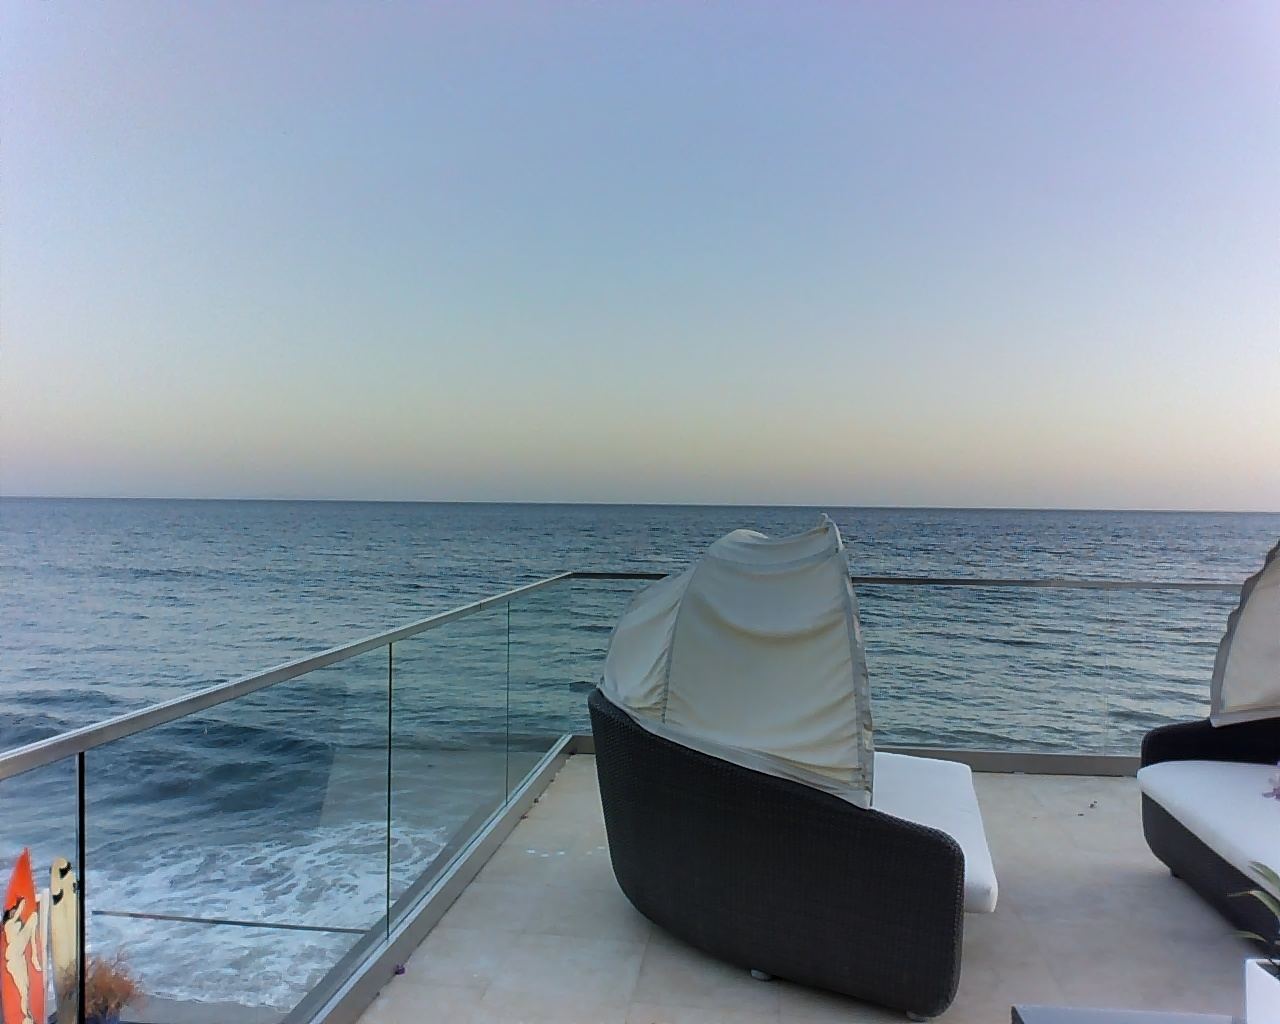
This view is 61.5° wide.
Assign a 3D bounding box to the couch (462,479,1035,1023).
[{"bbox_3d":[0.490,0.720,4.110,1.709,1.631,1.780,1,1,14],"label":"couch"}]
